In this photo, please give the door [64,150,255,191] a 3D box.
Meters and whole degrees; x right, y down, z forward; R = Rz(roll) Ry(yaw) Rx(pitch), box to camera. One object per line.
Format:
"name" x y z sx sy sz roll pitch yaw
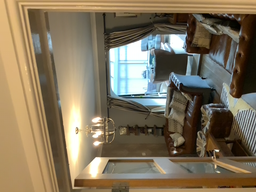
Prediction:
"door" 0.700 0.480 1.420 0.660 2.060 0.120 108 162 -85
